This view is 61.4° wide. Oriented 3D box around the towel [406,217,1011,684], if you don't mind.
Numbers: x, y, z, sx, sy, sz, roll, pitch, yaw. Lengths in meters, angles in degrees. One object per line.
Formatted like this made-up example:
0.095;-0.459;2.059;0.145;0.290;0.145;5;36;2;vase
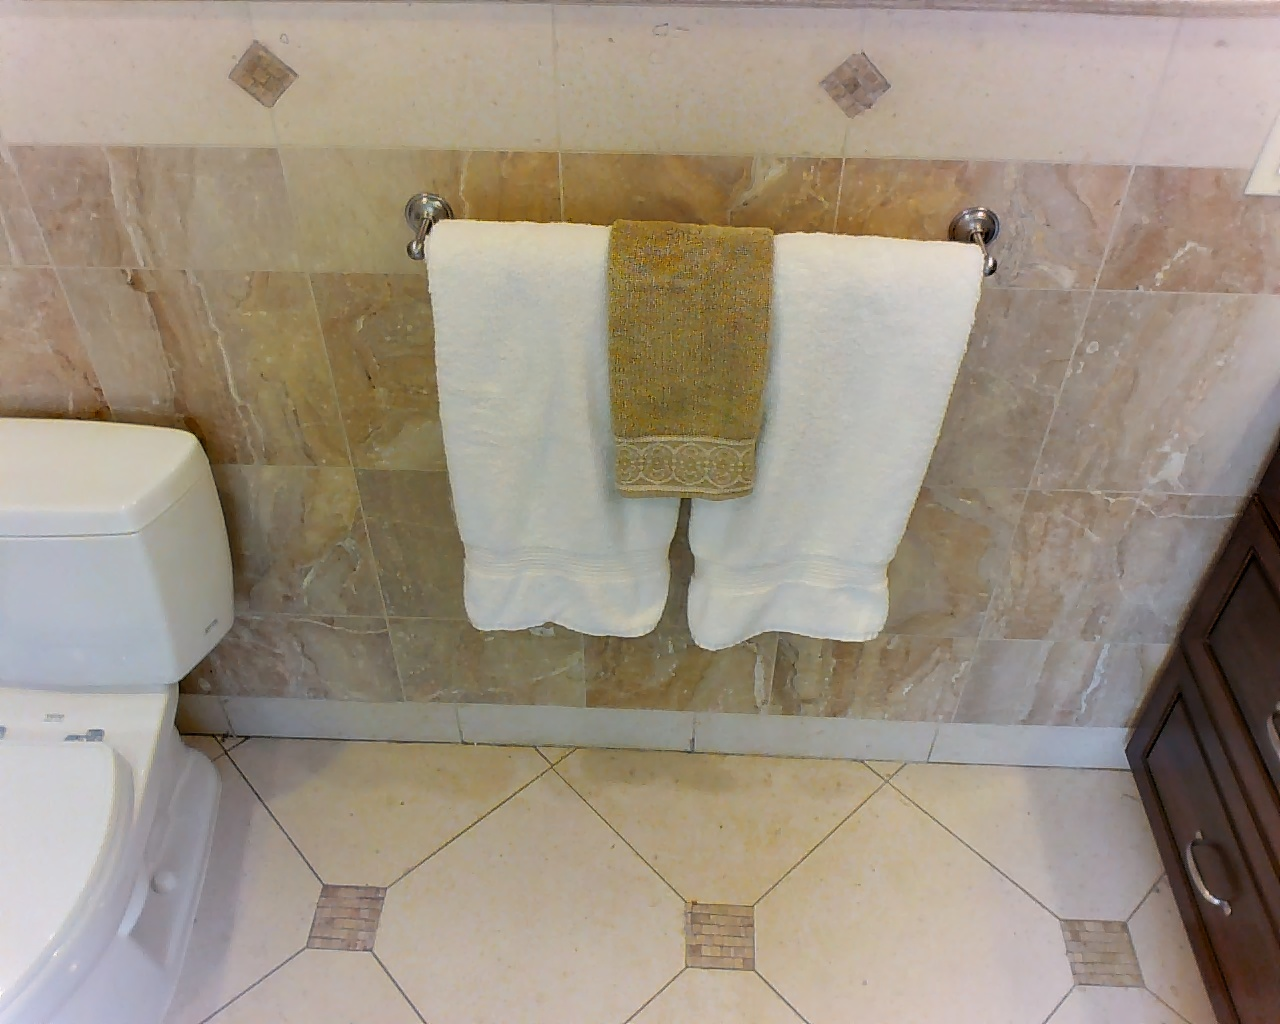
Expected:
0.070;-0.050;1.350;0.610;0.590;0.170;2;42;2;towel

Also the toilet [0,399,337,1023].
-0.820;0.390;1.400;0.520;0.770;0.750;2;42;2;toilet
